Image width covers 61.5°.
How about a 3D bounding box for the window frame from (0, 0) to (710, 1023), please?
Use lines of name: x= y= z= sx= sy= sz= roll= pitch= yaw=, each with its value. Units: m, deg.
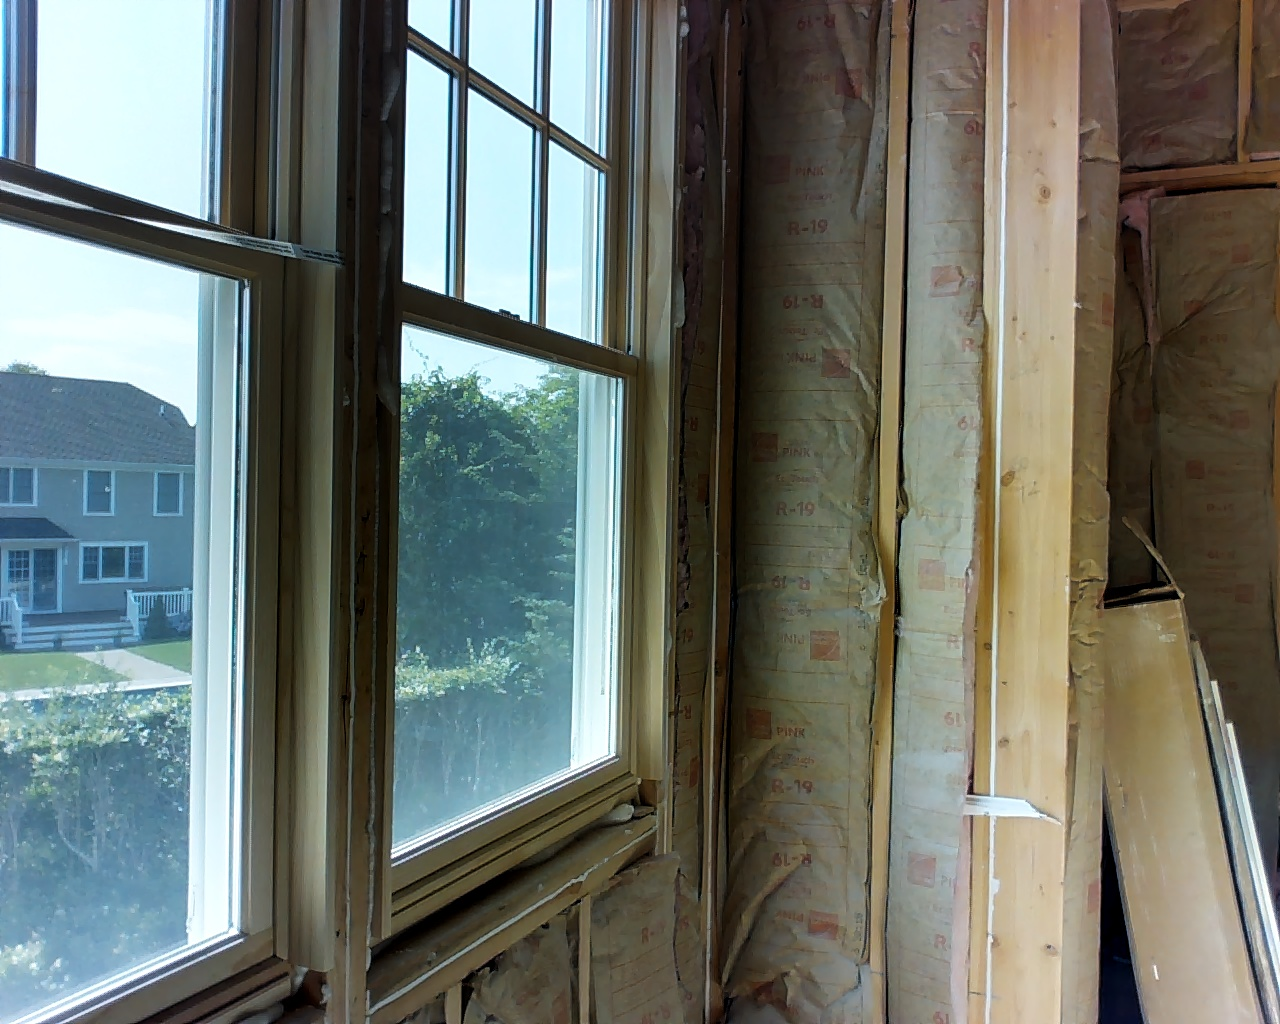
window frame: x=-0.400 y=-0.240 z=1.370 sx=0.210 sy=1.720 sz=2.090 roll=1 pitch=0 yaw=25
